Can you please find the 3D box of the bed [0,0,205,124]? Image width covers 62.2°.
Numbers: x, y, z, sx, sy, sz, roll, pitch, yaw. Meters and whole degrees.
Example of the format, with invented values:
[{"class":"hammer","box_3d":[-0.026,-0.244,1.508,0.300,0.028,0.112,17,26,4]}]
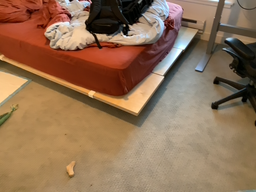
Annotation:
[{"class":"bed","box_3d":[-0.410,-0.840,2.640,2.150,0.540,1.820,20,47,21]}]
